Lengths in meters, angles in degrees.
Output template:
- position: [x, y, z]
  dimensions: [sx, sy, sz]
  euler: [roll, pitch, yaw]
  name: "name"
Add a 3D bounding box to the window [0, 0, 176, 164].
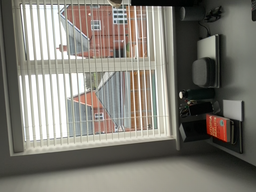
- position: [-0.270, -0.190, 1.690]
  dimensions: [0.130, 1.260, 1.290]
  euler: [-176, 83, -80]
  name: "window"
